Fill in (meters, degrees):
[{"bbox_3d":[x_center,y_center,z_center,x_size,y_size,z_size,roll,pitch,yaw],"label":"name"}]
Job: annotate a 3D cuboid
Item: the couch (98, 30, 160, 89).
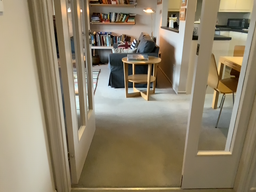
[{"bbox_3d":[-0.030,-0.830,4.290,0.980,0.820,1.710,-1,22,-3],"label":"couch"}]
